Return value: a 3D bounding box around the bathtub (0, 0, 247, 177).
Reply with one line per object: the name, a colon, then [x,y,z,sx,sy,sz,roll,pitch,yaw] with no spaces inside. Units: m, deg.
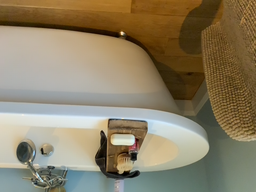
bathtub: [-0.490,0.010,1.220,1.760,0.650,0.840,3,148,-3]
